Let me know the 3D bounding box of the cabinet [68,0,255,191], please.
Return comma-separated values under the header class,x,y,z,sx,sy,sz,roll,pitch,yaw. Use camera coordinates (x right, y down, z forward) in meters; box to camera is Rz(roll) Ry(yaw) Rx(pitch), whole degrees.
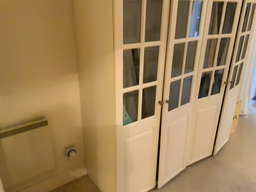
class,x,y,z,sx,sy,sz,roll,pitch,yaw
cabinet,0.390,-0.410,1.750,1.560,2.190,0.530,-15,28,-34
